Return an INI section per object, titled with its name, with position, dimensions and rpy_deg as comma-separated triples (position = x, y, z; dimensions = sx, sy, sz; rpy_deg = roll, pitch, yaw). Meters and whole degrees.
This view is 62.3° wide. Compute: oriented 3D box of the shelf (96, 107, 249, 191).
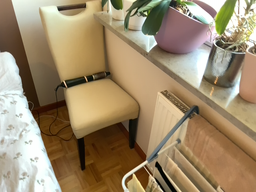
[shelf]
position = 0.190, 0.560, 1.020
dimensions = 0.380, 0.610, 0.750
rpy_deg = -18, 44, -26
